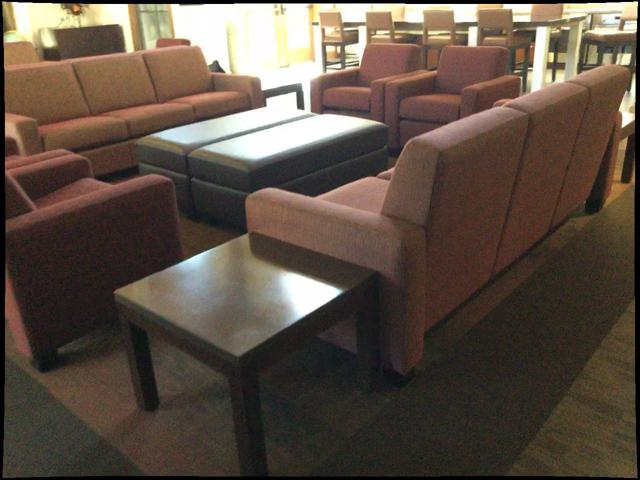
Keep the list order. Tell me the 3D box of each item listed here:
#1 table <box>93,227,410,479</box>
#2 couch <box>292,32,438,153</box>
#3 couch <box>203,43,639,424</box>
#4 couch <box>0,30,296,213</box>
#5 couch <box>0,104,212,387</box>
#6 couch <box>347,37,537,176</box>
[{"bbox_3d":[-0.200,0.350,1.880,0.710,0.430,0.680,18,33,40],"label":"table"},{"bbox_3d":[0.410,-1.331,5.060,0.850,0.811,0.910,18,33,40],"label":"couch"},{"bbox_3d":[0.739,-0.320,2.730,0.970,0.851,2.309,18,33,40],"label":"couch"},{"bbox_3d":[-1.508,-1.151,4.870,1.049,0.871,2.539,18,33,40],"label":"couch"},{"bbox_3d":[-1.139,-0.070,2.530,0.870,0.801,0.850,18,33,40],"label":"couch"},{"bbox_3d":[0.949,-1.111,4.550,1.069,0.801,0.950,18,33,40],"label":"couch"}]
